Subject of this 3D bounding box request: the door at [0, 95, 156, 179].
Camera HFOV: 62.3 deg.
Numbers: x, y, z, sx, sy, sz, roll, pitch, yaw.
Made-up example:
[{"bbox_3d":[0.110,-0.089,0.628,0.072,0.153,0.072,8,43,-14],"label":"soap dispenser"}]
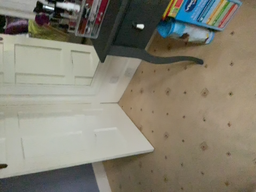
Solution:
[{"bbox_3d":[-0.810,0.240,1.610,0.860,2.010,0.040,48,129,46],"label":"door"}]
